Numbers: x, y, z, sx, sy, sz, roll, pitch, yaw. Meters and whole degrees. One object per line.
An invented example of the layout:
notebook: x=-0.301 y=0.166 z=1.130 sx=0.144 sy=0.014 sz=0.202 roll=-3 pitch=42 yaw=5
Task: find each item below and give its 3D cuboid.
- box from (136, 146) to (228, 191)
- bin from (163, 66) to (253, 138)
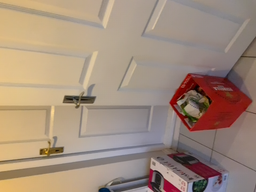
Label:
box: x=0.360 y=0.610 z=1.500 sx=0.430 sy=0.410 sz=0.340 roll=16 pitch=102 yaw=57
bin: x=0.500 y=0.040 z=1.370 sx=0.280 sy=0.340 sz=0.330 roll=57 pitch=134 yaw=42
